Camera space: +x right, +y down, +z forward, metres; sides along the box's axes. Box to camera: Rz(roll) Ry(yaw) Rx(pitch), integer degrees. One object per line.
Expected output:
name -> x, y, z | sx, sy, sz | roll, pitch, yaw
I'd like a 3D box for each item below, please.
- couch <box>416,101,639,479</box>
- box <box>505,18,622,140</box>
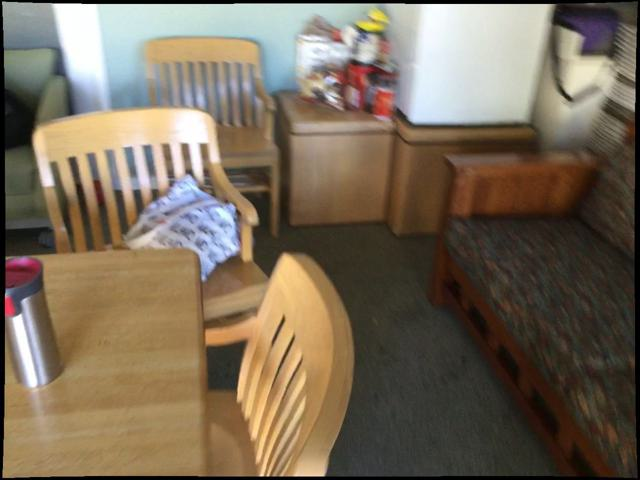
couch -> 1.139, 0.300, 1.620 | 1.069, 0.761, 1.930 | -5, 32, -10
box -> 1.099, -0.751, 2.670 | 0.240, 0.440, 0.400 | -5, 32, -10
